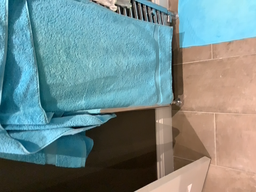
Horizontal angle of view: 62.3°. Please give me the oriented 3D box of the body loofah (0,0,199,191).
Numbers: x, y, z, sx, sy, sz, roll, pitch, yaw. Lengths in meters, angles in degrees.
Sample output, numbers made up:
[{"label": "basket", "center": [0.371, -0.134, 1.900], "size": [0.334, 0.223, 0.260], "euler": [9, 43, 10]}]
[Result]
[{"label": "body loofah", "center": [-0.100, -0.180, 0.880], "size": [0.230, 1.180, 1.010], "euler": [4, 95, 45]}]
